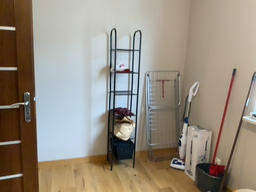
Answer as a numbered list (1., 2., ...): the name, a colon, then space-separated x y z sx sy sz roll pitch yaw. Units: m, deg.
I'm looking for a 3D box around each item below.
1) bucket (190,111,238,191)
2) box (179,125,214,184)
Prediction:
1. bucket: 0.950 0.660 2.390 0.260 0.930 0.310 0 11 -16
2. box: 0.860 0.730 2.700 0.250 0.660 0.270 0 11 -16
